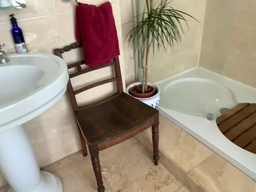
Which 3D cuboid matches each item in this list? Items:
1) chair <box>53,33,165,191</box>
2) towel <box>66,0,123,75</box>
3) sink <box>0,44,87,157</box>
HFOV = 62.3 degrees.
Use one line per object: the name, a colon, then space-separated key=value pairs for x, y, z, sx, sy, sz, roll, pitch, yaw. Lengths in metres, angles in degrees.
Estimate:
chair: x=-0.100 y=0.100 z=1.340 sx=0.430 sy=0.810 sz=0.470 roll=-20 pitch=36 yaw=-24
towel: x=-0.190 y=-0.350 z=1.260 sx=0.240 sy=0.360 sz=0.170 roll=-19 pitch=35 yaw=-23
sink: x=-0.580 y=0.010 z=0.880 sx=0.620 sy=0.190 sz=0.540 roll=-22 pitch=36 yaw=-26
